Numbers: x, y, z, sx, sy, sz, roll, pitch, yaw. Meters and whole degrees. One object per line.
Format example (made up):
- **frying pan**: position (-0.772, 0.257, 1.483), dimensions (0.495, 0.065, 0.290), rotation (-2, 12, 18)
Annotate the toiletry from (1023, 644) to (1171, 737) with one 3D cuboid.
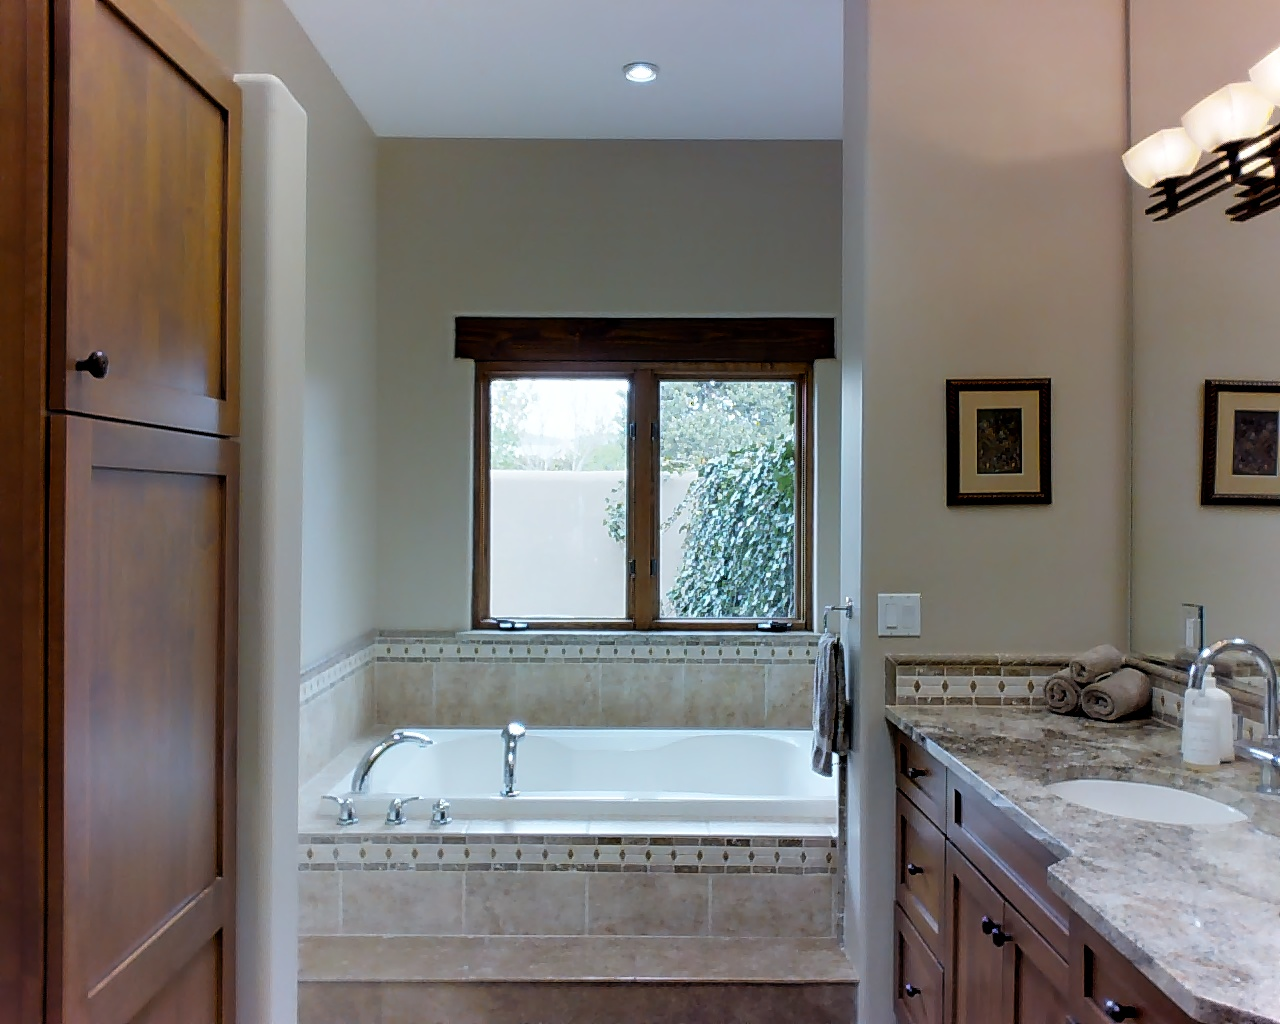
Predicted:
- **toiletry**: position (1.170, 0.450, 2.750), dimensions (0.230, 0.180, 0.270), rotation (1, 0, -38)
